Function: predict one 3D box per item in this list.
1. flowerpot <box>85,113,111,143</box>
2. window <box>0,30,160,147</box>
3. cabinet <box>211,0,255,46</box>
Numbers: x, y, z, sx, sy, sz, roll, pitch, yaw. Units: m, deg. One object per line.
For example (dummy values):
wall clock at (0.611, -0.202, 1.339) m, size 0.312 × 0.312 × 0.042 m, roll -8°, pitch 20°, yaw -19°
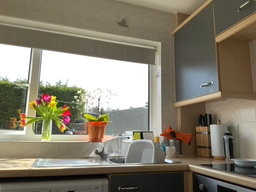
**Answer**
flowerpot at (-0.280, 0.290, 1.930) m, size 0.210 × 0.250 × 0.270 m, roll 3°, pitch -9°, yaw -12°
window at (-0.550, -0.030, 1.980) m, size 1.760 × 0.970 × 0.180 m, roll 4°, pitch -10°, yaw -17°
cabinet at (0.890, -0.640, 1.400) m, size 0.340 × 0.390 × 0.570 m, roll 4°, pitch -10°, yaw -18°
